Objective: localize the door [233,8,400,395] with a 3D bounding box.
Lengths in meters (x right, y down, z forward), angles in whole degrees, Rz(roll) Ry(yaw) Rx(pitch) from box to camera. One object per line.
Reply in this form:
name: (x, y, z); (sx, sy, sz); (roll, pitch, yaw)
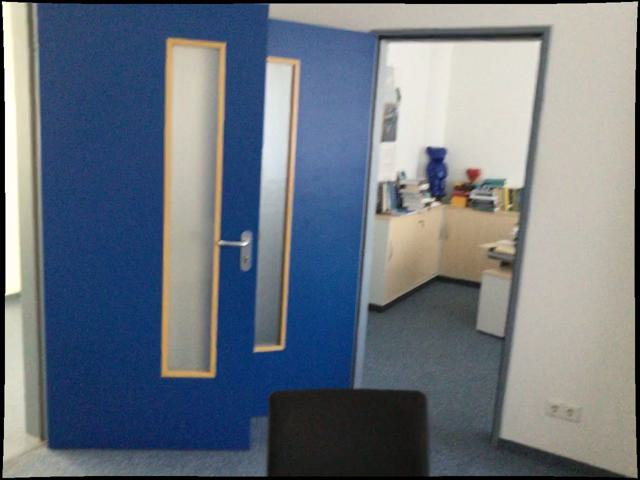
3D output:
door: (-0.030, -0.140, 3.000); (0.679, 1.882, 0.150); (0, 13, -28)
